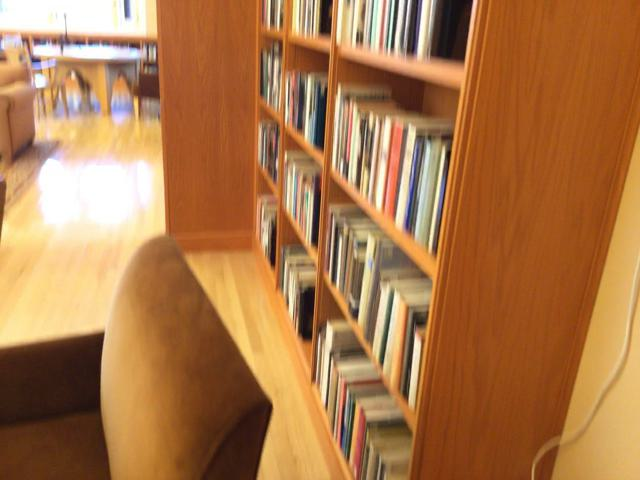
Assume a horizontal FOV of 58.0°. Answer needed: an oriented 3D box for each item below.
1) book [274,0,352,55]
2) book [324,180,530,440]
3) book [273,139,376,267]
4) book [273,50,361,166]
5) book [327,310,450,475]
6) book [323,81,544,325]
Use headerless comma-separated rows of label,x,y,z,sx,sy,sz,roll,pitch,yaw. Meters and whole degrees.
book,-0.040,-0.900,2.240,0.170,0.300,0.590,0,21,-14
book,0.230,0.130,1.610,0.240,0.410,0.750,0,21,-14
book,-0.010,-0.180,2.420,0.260,0.350,0.650,0,21,-14
book,-0.040,-0.550,2.300,0.180,0.350,0.680,0,21,-14
book,0.180,0.430,1.780,0.160,0.140,0.640,0,21,-14
book,0.220,-0.160,1.530,0.210,0.410,0.820,0,21,-14
